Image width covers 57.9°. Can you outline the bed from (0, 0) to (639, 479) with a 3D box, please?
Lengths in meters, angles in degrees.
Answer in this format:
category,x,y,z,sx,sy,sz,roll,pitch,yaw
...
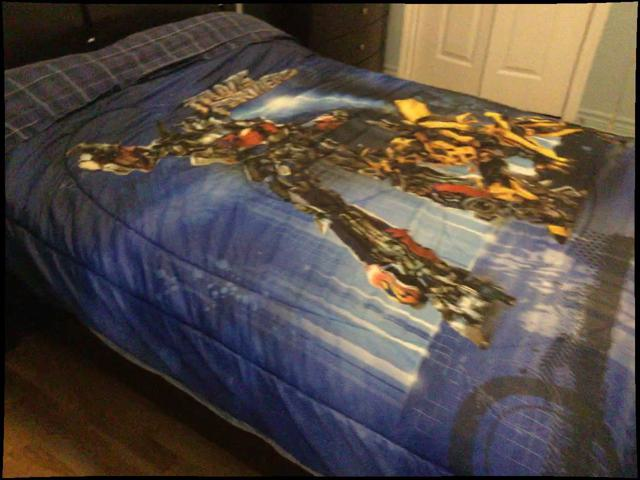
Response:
category,x,y,z,sx,sy,sz,roll,pitch,yaw
bed,0.010,-0.290,1.620,2.259,0.991,1.700,22,41,25
